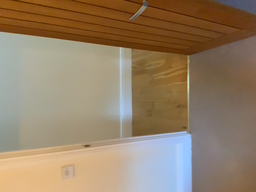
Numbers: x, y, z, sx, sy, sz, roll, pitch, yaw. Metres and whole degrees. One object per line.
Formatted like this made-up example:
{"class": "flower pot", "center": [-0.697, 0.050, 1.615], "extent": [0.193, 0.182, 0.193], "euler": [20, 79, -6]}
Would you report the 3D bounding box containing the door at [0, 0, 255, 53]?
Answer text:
{"class": "door", "center": [-0.100, -0.430, 1.200], "extent": [0.820, 1.990, 0.040], "euler": [0, 91, 59]}
